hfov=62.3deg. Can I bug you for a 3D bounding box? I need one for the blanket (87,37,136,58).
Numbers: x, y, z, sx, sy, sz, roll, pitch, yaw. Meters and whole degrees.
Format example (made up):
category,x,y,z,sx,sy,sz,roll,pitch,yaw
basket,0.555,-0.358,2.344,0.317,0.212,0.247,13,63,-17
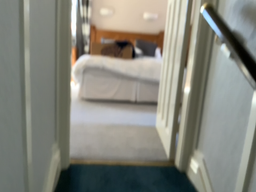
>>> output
category,x,y,z,sx,sy,sz,roll,pitch,yaw
blanket,-0.250,-0.760,3.330,0.690,0.240,0.630,3,12,-3
